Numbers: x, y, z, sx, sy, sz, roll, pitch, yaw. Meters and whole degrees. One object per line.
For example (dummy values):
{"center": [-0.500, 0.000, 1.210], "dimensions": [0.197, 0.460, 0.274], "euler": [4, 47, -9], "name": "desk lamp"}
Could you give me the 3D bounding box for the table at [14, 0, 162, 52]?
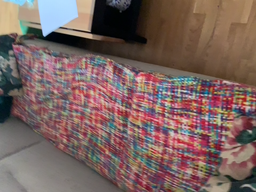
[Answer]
{"center": [-0.210, -0.660, 1.250], "dimensions": [0.660, 0.540, 0.620], "euler": [21, 106, 34], "name": "table"}
